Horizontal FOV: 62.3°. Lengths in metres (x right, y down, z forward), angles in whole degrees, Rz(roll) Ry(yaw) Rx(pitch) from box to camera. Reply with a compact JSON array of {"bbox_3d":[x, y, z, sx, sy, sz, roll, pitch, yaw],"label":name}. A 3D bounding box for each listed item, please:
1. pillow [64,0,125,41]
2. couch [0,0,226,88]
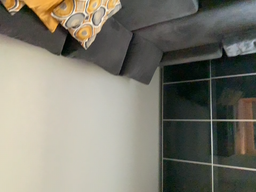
[{"bbox_3d":[-0.220,-0.590,1.460,0.200,0.350,0.380,-7,-166,24],"label":"pillow"},{"bbox_3d":[-0.060,-0.700,1.710,1.120,0.790,2.390,-3,170,35],"label":"couch"}]
